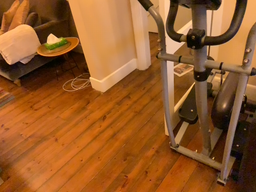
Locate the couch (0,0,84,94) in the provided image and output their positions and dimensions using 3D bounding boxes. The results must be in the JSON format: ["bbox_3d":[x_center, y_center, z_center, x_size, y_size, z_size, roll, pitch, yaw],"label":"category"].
[{"bbox_3d":[-1.860,-0.960,3.170,2.040,0.830,1.160,20,45,34],"label":"couch"}]
